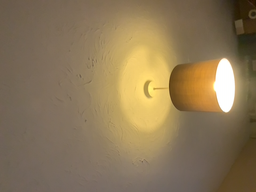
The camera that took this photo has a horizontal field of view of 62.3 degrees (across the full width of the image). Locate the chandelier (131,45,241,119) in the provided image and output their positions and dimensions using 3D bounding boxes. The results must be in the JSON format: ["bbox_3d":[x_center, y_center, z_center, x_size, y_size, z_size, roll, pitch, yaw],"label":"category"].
[{"bbox_3d":[0.260,-0.070,0.940,0.310,0.340,0.210,-27,109,-43],"label":"chandelier"}]
